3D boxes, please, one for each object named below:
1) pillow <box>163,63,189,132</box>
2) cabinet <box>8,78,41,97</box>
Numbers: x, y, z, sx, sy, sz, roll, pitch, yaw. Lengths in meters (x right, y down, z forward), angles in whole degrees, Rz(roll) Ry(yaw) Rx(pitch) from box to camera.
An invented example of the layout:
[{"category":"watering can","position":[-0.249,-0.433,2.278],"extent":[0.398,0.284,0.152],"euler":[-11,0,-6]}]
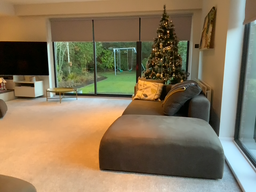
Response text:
[{"category":"pillow","position":[0.680,-0.030,3.050],"extent":[0.300,0.450,1.030],"euler":[2,37,11]},{"category":"cabinet","position":[-2.710,-0.230,5.580],"extent":[0.610,0.420,0.420],"euler":[3,11,11]}]
